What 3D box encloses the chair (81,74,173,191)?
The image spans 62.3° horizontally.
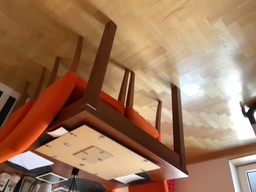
[{"bbox_3d":[0.050,0.390,1.760,0.350,0.950,0.580,-27,130,34],"label":"chair"}]

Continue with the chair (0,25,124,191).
[{"bbox_3d":[-0.420,0.090,1.470,0.410,0.950,0.580,-28,130,35],"label":"chair"}]
